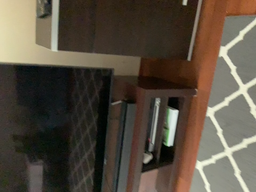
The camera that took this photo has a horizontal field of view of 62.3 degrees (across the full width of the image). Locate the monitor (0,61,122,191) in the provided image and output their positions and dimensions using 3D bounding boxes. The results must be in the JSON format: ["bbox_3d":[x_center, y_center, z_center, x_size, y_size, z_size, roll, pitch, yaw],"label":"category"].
[{"bbox_3d":[-0.500,0.520,1.450,0.060,0.860,1.460,24,111,54],"label":"monitor"}]
